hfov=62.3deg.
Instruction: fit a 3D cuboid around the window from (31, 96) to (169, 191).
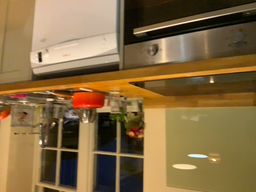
[{"bbox_3d":[-0.390,0.940,2.070,1.610,1.790,0.130,-4,173,31],"label":"window"}]
